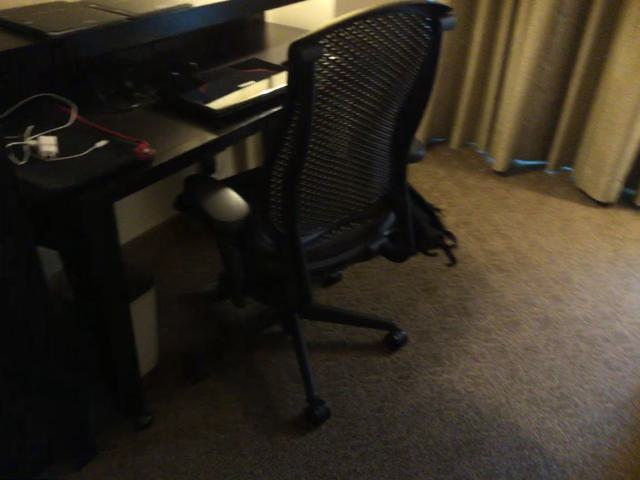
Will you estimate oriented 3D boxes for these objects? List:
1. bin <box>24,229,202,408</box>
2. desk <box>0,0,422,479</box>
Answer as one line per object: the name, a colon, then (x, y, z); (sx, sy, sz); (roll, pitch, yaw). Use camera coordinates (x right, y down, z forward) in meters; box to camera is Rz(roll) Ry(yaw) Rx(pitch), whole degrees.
bin: (-0.610, 0.220, 1.740); (0.380, 0.310, 0.290); (22, 38, 29)
desk: (-0.390, -0.230, 1.830); (0.710, 0.980, 1.500); (22, 38, 29)
